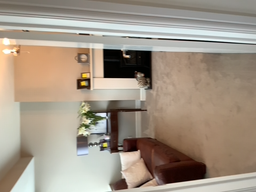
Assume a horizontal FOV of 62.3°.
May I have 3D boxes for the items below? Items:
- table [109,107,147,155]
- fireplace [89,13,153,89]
[{"bbox_3d":[-0.010,0.680,4.330,0.430,0.680,0.870,-177,86,-75],"label":"table"},{"bbox_3d":[-0.140,-0.770,3.920,0.460,1.090,1.260,-177,86,-75],"label":"fireplace"}]
